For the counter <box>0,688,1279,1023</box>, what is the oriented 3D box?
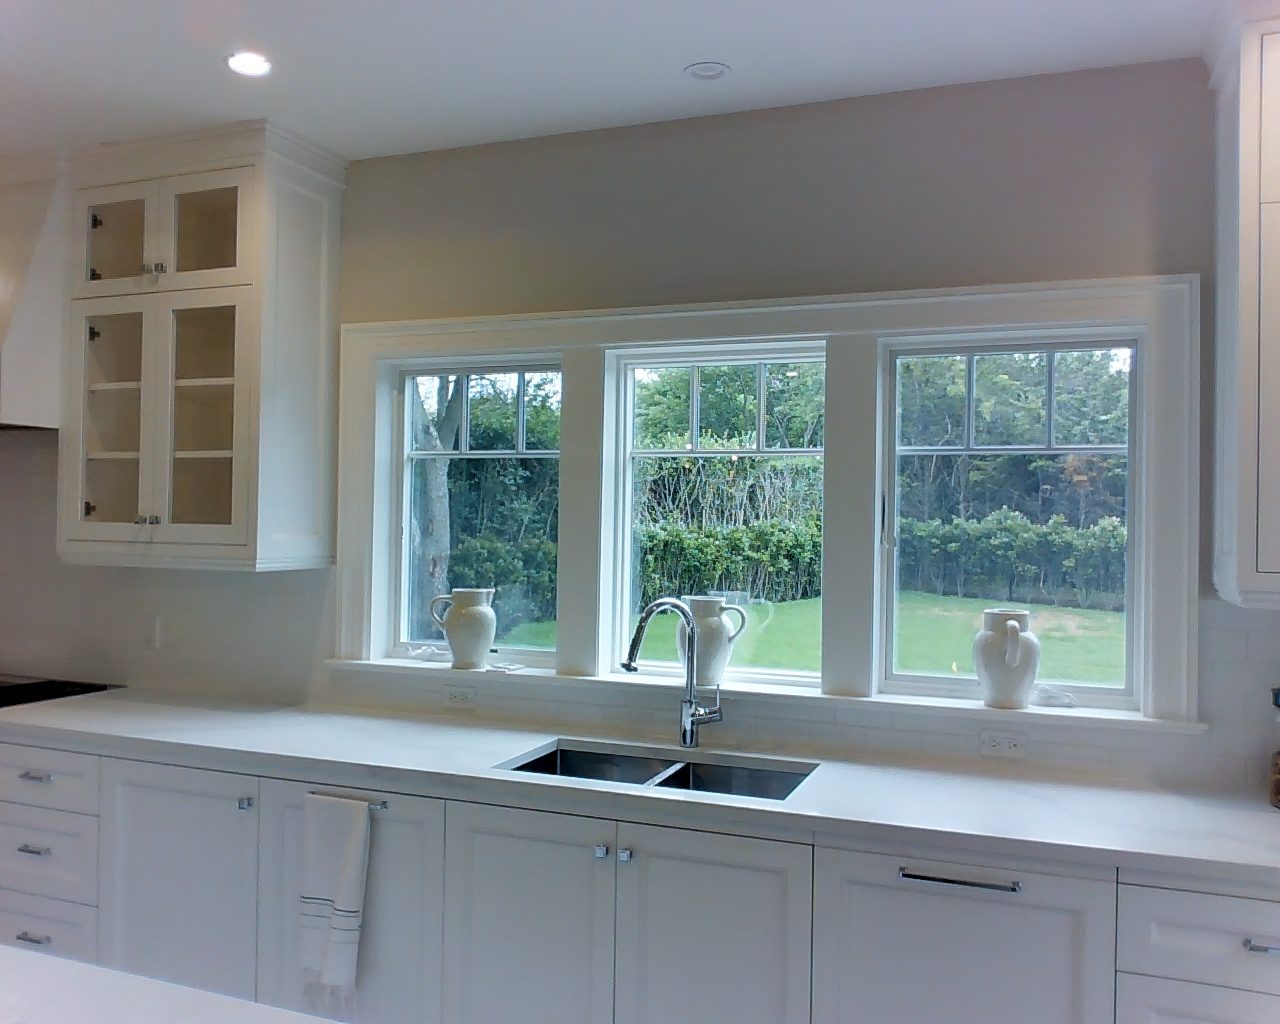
[{"bbox_3d":[0.060,1.170,2.790,4.419,1.030,0.640,1,-1,21],"label":"counter"}]
